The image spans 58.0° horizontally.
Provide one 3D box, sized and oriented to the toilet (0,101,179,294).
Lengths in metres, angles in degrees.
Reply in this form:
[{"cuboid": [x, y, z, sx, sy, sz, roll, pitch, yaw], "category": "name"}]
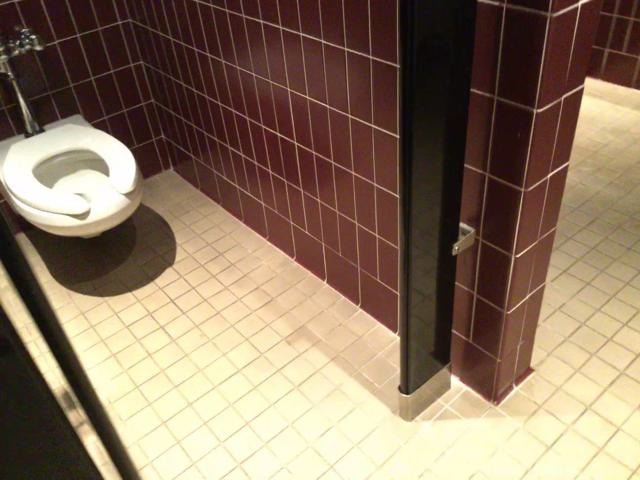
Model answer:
[{"cuboid": [-0.790, -0.170, 1.820, 0.400, 0.240, 0.630, -29, 42, -24], "category": "toilet"}]
